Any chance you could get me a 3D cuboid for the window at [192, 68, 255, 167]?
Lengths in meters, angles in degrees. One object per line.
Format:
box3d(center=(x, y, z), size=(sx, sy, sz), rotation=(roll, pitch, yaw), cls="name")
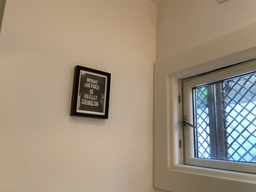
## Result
box3d(center=(0.680, 0.140, 1.340), size=(0.070, 0.560, 0.610), rotation=(10, -13, -32), cls="window")
